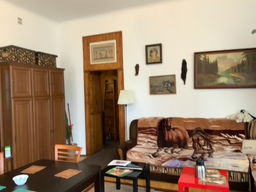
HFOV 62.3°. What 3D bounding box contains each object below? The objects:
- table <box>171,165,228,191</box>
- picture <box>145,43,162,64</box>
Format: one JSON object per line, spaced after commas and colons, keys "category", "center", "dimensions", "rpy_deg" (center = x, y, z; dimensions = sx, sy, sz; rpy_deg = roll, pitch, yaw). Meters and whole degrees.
{"category": "table", "center": [0.920, 1.220, 2.680], "dimensions": [0.610, 0.430, 0.640], "rpy_deg": [-1, 1, 24]}
{"category": "picture", "center": [0.540, -0.890, 4.490], "dimensions": [0.360, 0.410, 0.020], "rpy_deg": [-1, 1, 24]}
